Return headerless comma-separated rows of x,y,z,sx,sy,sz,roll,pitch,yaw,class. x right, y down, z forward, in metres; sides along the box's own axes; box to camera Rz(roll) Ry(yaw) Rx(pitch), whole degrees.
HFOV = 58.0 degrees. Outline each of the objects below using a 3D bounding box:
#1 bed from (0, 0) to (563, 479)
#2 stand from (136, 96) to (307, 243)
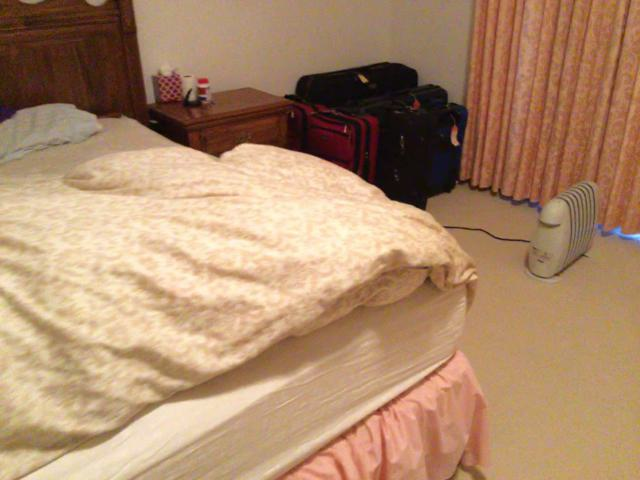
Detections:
-0.990,-0.080,1.560,2.080,1.660,2.240,-20,26,-34,bed
-0.510,-0.410,3.080,0.670,0.630,0.490,-17,21,-35,stand
